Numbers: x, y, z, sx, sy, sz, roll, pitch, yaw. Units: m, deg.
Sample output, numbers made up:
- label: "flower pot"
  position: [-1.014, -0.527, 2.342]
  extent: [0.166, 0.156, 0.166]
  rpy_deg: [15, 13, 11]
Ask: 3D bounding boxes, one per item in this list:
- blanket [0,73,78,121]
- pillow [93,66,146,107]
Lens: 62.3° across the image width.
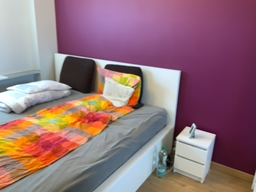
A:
- label: "blanket"
  position: [-1.100, -0.040, 2.460]
  extent: [0.550, 0.230, 0.870]
  rpy_deg: [13, 21, 28]
- label: "pillow"
  position: [-0.110, -0.130, 2.490]
  extent: [0.580, 0.330, 0.240]
  rpy_deg: [15, 22, 32]
